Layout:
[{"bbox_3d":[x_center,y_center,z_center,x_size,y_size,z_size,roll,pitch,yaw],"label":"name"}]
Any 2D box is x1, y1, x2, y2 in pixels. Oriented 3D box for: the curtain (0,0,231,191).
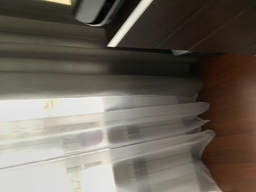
[{"bbox_3d":[-0.410,0.920,0.920,0.160,2.710,3.110,-28,68,56],"label":"curtain"}]
